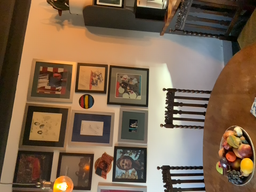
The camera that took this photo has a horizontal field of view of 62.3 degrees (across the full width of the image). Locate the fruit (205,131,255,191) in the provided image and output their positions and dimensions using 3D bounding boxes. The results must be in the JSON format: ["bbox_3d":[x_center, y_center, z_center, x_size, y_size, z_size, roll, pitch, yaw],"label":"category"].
[{"bbox_3d":[0.640,0.400,1.330,0.390,0.110,0.290,-174,88,-84],"label":"fruit"}]
